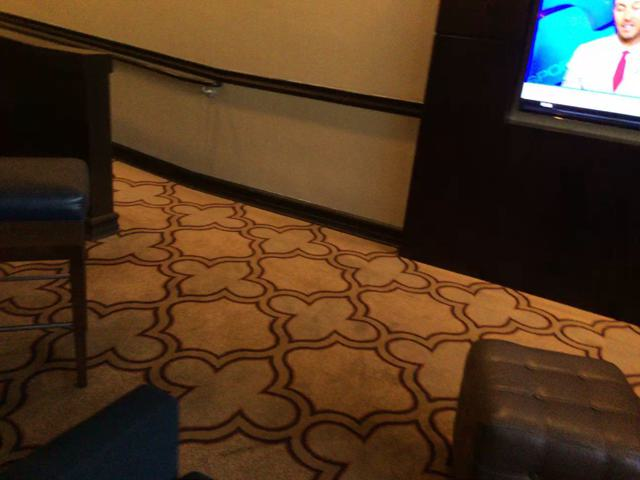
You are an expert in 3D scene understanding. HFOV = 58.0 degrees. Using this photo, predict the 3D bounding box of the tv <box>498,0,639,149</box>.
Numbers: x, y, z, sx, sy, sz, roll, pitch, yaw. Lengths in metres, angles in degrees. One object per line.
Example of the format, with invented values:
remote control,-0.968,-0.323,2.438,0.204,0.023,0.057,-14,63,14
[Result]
tv,1.600,-0.850,2.720,1.290,0.800,0.300,17,23,26
